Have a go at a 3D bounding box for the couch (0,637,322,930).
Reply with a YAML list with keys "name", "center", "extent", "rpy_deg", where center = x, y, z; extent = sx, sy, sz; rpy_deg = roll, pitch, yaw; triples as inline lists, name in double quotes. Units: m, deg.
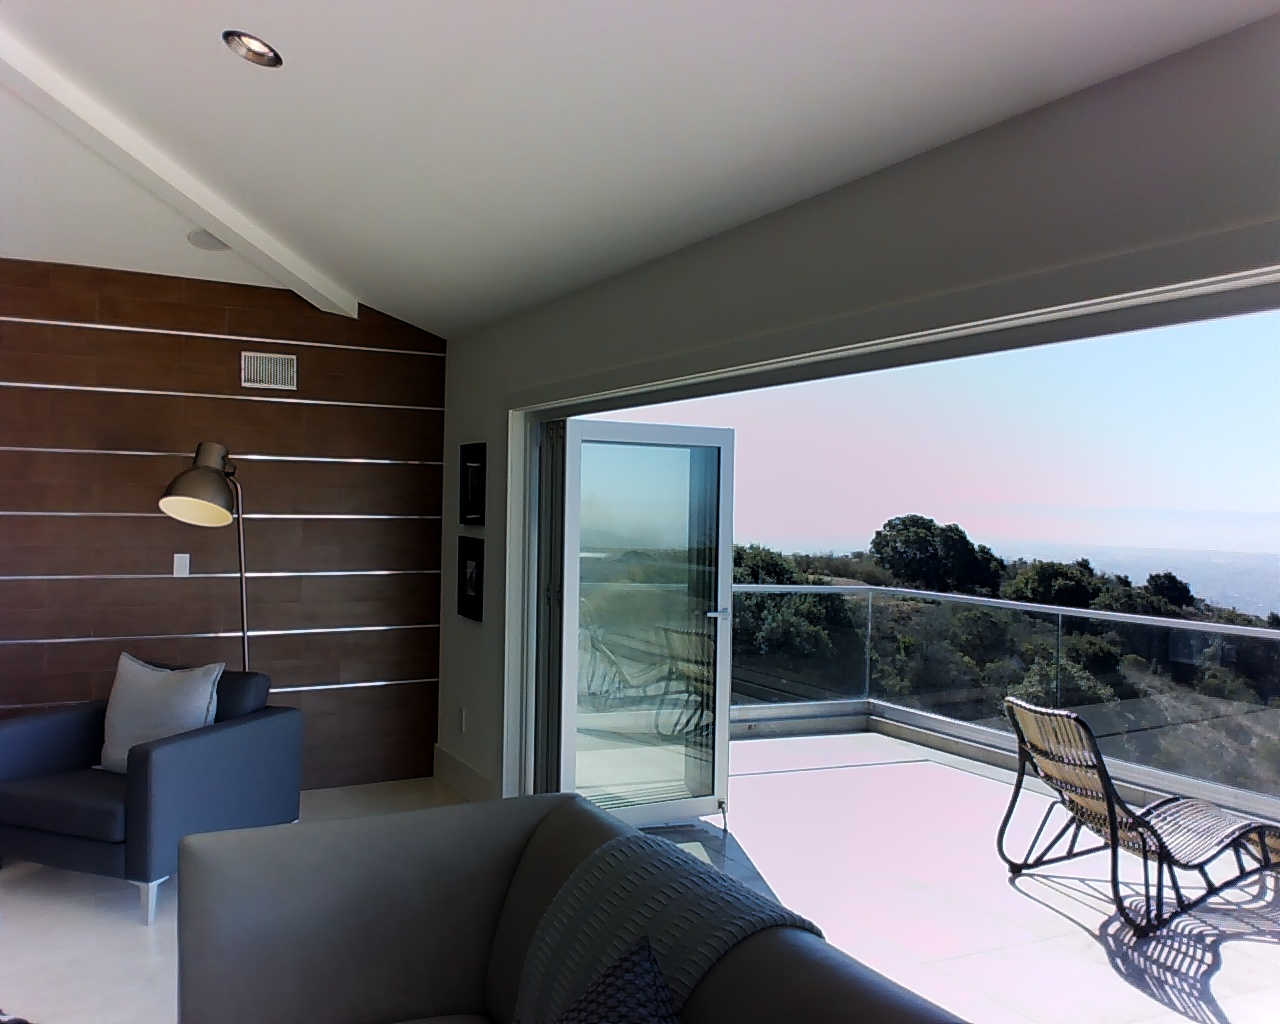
- name: "couch"
  center: [-2.040, 1.040, 4.450]
  extent: [0.970, 0.880, 0.990]
  rpy_deg: [1, 0, 20]
